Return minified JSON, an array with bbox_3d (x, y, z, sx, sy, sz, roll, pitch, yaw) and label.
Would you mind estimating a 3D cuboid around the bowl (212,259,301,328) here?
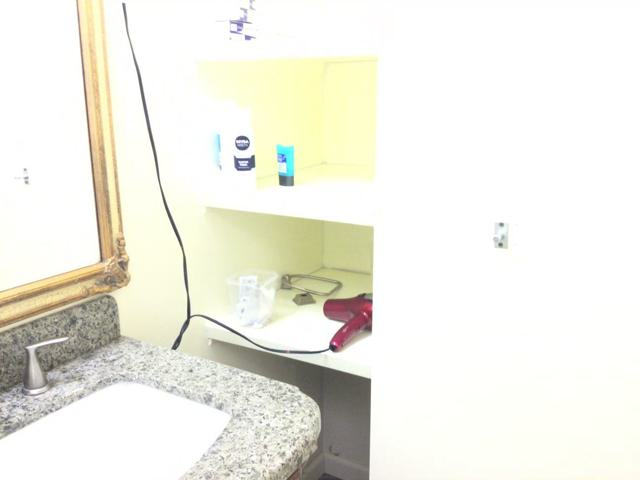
[{"bbox_3d":[-0.170,0.140,1.570,0.180,0.120,0.150,7,16,30],"label":"bowl"}]
